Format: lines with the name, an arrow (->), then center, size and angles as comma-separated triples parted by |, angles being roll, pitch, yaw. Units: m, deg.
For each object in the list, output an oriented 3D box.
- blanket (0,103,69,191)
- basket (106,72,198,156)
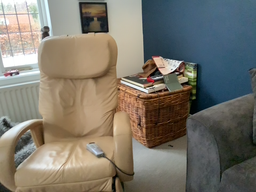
blanket -> -1.100, 0.450, 1.820 | 0.920, 0.400, 0.760 | -14, 21, -28
basket -> 0.230, 0.120, 2.420 | 0.620, 0.590, 0.860 | -13, 20, -26
